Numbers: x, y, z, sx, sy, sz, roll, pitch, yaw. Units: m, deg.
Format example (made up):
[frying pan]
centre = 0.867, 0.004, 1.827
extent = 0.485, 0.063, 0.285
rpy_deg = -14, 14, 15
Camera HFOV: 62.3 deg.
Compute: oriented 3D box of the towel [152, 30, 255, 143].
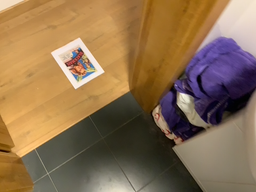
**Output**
[towel]
centre = 0.310, 0.020, 0.940
extent = 0.230, 0.610, 0.200
rpy_deg = -34, 76, -14
